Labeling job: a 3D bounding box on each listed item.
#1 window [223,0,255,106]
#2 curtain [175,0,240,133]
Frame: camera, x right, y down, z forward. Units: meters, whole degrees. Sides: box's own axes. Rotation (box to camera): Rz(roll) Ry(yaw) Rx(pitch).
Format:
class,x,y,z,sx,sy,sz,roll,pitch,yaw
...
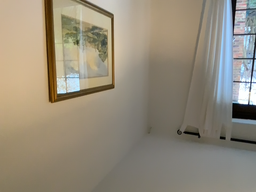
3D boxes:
class,x,y,z,sx,sy,sz,roll,pitch,yaw
window,1.630,-0.600,2.170,1.090,1.480,0.050,5,-168,23
curtain,0.830,-0.820,2.180,0.540,2.400,0.140,5,-168,24
